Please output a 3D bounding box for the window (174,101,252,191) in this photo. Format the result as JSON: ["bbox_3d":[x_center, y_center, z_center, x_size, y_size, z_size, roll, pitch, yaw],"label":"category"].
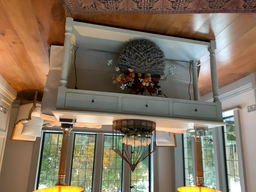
[{"bbox_3d":[1.440,1.240,4.110,0.120,1.850,2.240,5,165,-12],"label":"window"}]
